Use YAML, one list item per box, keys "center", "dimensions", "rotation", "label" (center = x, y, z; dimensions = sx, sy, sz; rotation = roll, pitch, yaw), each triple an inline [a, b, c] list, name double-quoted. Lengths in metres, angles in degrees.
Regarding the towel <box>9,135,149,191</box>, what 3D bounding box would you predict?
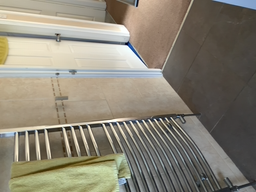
- center: [-0.220, 0.360, 0.940]
  dimensions: [0.300, 0.530, 0.140]
  rotation: [59, 141, 45]
  label: "towel"
